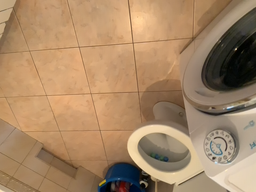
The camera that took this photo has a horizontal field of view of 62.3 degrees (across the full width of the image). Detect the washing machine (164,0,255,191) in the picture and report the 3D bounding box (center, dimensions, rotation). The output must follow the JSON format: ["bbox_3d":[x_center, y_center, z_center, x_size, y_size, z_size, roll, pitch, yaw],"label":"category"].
[{"bbox_3d":[0.540,-0.110,0.800,0.470,0.820,0.640,35,120,-14],"label":"washing machine"}]

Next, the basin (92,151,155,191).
[{"bbox_3d":[-0.040,0.730,1.780,0.350,0.210,0.400,32,121,-13],"label":"basin"}]

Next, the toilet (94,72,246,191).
[{"bbox_3d":[0.230,0.360,1.160,0.620,0.800,0.390,35,120,-14],"label":"toilet"}]
